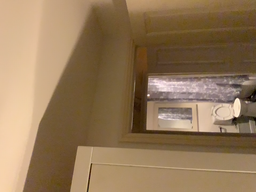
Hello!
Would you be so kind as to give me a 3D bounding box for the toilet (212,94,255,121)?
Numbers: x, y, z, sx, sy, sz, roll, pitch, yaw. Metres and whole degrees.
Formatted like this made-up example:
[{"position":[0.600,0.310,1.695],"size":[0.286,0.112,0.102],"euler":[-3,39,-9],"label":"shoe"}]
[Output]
[{"position":[2.150,0.250,4.310],"size":[0.590,0.700,0.370],"euler":[67,-155,-65],"label":"toilet"}]
